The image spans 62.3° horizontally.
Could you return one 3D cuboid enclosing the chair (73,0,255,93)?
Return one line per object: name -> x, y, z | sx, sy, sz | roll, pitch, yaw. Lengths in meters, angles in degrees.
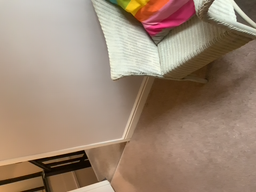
chair -> 0.230, -0.450, 1.060 | 0.650, 0.770, 0.670 | -30, 68, 53
